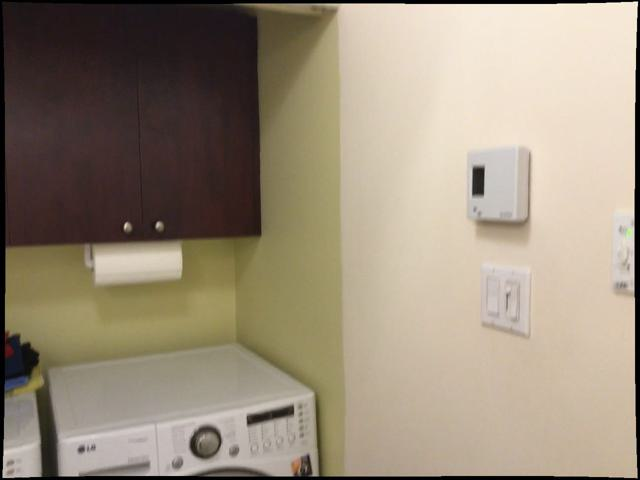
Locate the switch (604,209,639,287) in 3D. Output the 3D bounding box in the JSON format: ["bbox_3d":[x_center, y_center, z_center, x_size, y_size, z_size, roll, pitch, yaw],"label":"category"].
[{"bbox_3d":[0.440,0.010,0.840,0.010,0.110,0.050,-3,5,-26],"label":"switch"}]

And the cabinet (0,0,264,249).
[{"bbox_3d":[-0.939,-0.380,1.690,1.579,0.801,0.160,-3,5,-26],"label":"cabinet"}]

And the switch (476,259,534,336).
[{"bbox_3d":[0.330,0.100,1.040,0.020,0.120,0.120,-3,5,-26],"label":"switch"}]
